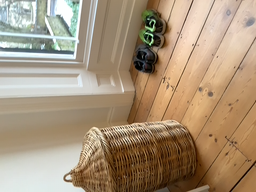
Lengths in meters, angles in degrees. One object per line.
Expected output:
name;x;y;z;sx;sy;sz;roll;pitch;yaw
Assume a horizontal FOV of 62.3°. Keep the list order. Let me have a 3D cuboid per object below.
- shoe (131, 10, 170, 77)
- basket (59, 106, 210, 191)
shoe;0.170;-0.430;1.760;0.240;0.080;0.480;51;135;48
basket;0.000;0.440;1.430;0.500;0.780;0.500;55;138;44
